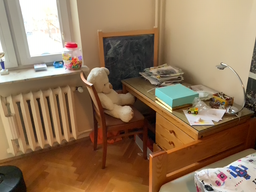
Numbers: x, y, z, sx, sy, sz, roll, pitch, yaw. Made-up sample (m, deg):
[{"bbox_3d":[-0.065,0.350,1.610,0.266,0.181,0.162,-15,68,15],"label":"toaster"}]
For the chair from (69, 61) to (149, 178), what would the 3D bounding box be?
[{"bbox_3d":[-0.180,0.180,2.030,0.560,0.880,0.520,-11,25,-22],"label":"chair"}]
